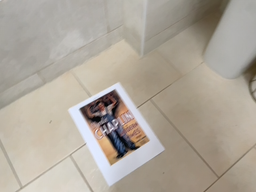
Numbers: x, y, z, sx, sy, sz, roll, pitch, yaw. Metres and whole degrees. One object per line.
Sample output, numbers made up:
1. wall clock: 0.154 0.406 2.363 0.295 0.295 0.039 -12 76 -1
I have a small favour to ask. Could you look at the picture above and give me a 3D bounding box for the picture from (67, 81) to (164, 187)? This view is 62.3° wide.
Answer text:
1. picture: -0.050 0.110 0.720 0.210 0.010 0.300 -28 68 -13
